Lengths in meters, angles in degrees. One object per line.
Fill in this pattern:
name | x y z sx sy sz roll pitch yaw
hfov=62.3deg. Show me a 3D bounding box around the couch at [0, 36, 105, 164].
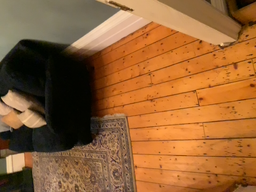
couch | -1.300 0.180 2.710 1.980 0.840 1.060 -14 81 44
